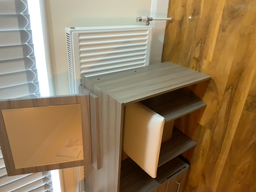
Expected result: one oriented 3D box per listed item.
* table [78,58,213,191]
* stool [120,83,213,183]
[{"bbox_3d":[0.100,0.400,1.590,0.410,0.770,1.190,32,128,43],"label":"table"},{"bbox_3d":[0.260,0.230,1.520,0.330,0.510,0.470,34,128,43],"label":"stool"}]
